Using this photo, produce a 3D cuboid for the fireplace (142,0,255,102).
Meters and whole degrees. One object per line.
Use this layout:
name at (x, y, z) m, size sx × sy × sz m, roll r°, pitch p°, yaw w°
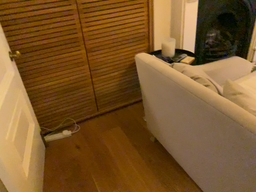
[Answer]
fireplace at (1.020, -0.770, 2.270) m, size 1.650 × 1.150 × 0.540 m, roll -16°, pitch 34°, yaw -18°
